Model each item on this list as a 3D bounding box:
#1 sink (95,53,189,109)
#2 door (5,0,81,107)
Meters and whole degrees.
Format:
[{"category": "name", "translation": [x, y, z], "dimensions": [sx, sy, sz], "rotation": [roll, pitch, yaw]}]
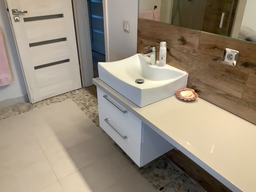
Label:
[{"category": "sink", "translation": [0.080, -0.150, 1.560], "dimensions": [0.400, 0.130, 0.580], "rotation": [-18, 34, -32]}, {"category": "door", "translation": [-0.980, -0.860, 2.460], "dimensions": [0.680, 2.030, 0.120], "rotation": [-18, 35, -31]}]
